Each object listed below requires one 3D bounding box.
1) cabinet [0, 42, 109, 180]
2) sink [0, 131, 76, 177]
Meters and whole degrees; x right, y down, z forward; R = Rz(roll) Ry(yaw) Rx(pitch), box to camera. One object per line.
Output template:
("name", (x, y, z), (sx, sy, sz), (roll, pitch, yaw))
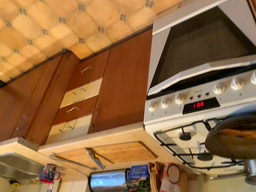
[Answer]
("cabinet", (-0.800, 0.190, 1.880), (0.970, 0.870, 0.570), (-16, 138, 31))
("sink", (-0.730, 0.470, 1.620), (0.400, 0.140, 0.490), (-16, 138, 31))
